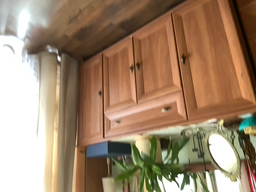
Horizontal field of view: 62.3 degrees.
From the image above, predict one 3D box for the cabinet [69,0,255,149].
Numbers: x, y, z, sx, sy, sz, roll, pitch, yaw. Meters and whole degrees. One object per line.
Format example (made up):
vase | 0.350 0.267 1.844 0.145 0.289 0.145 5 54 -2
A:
cabinet | 0.160 -0.130 1.820 1.590 0.960 0.470 -20 154 39
